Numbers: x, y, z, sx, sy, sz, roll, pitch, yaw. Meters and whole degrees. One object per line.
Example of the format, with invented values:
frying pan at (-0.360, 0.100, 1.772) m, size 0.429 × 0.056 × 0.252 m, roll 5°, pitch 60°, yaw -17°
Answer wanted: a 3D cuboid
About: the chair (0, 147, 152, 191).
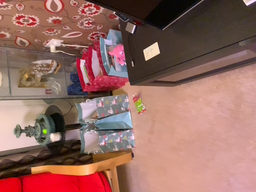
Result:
chair at (-0.440, 0.810, 1.540) m, size 0.820 × 0.960 × 0.690 m, roll -13°, pitch 81°, yaw 45°
